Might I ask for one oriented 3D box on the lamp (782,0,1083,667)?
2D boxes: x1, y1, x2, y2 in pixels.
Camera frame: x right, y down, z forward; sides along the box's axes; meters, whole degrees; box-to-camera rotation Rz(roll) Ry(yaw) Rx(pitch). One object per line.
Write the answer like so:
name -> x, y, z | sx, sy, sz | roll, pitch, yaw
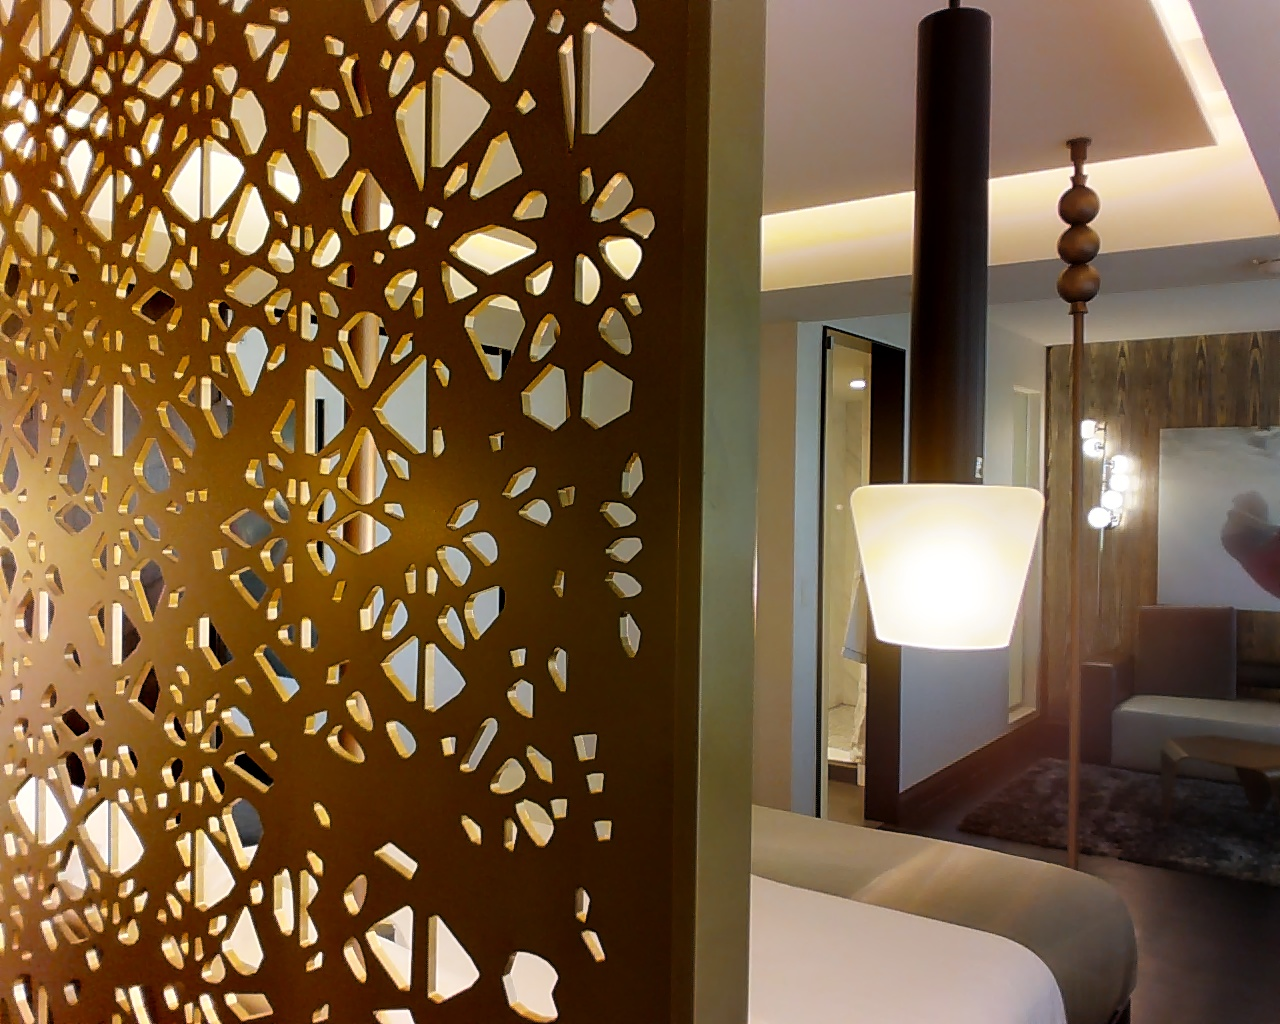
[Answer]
lamp -> 0.250, -0.150, 0.900 | 0.170, 0.540, 0.160 | 1, -6, 36
